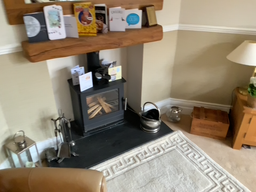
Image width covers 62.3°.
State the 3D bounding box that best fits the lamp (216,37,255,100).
[{"bbox_3d":[1.120,-0.290,2.110,0.350,0.450,0.420,10,32,15],"label":"lamp"}]
